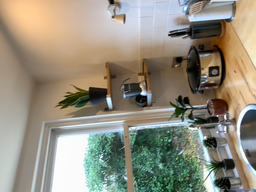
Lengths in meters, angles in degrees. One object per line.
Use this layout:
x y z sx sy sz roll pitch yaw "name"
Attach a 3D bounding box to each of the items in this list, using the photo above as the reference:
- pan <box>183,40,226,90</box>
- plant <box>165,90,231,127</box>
0.610 -0.240 1.740 0.310 0.210 0.330 93 171 -86 "pan"
0.540 0.100 1.690 0.180 0.430 0.200 86 179 -64 "plant"
